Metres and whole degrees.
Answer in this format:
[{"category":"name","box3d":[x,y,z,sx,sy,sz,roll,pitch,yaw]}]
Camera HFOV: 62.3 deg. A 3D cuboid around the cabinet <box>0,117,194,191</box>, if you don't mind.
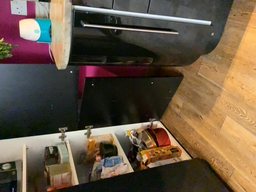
[{"category":"cabinet","box3d":[-0.560,0.570,1.360,0.490,1.950,0.500,-128,42,-51]}]
